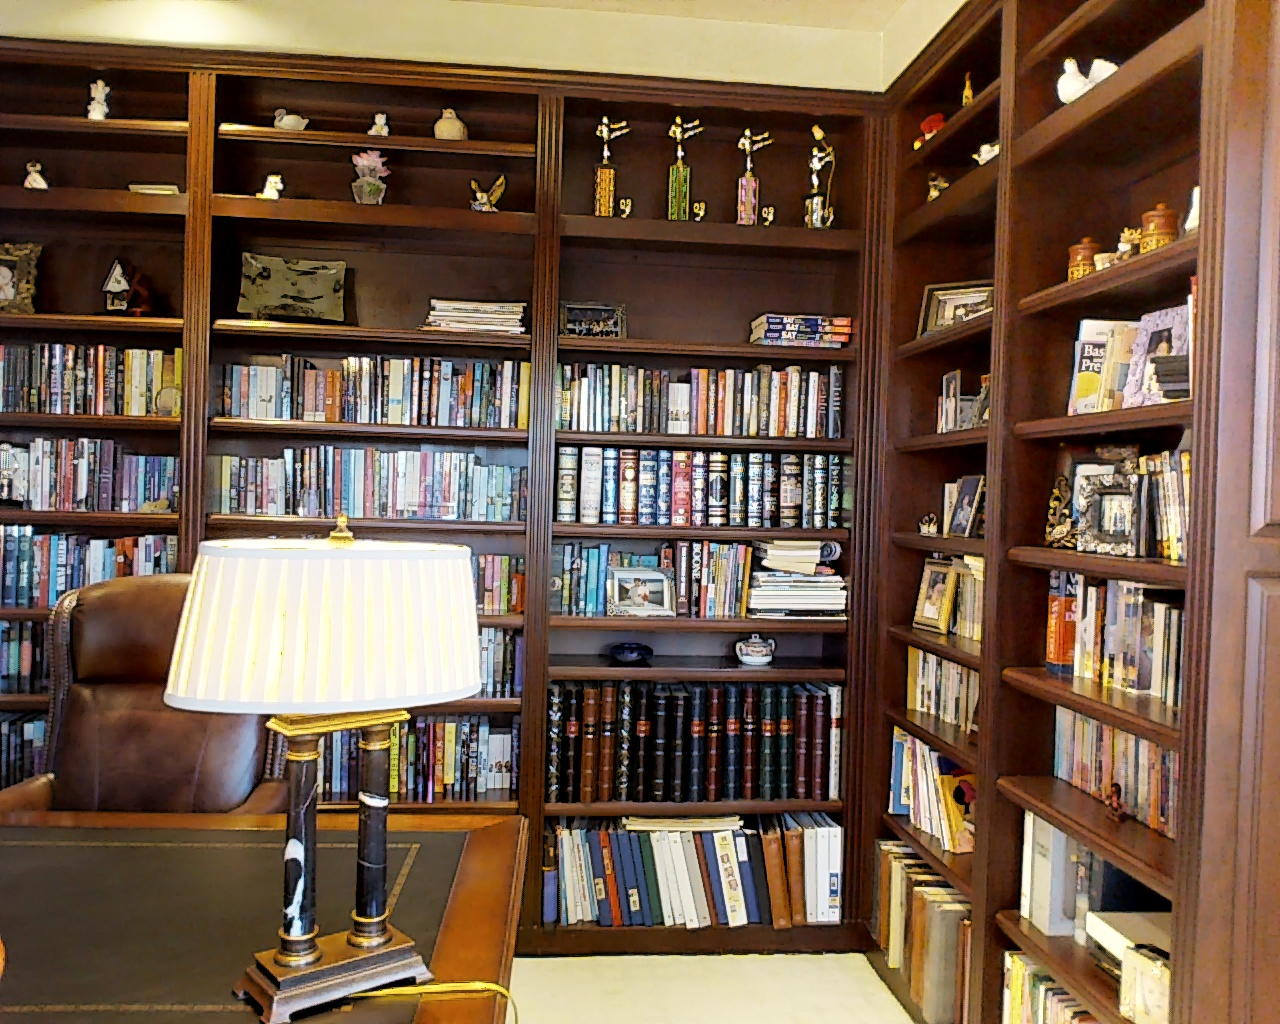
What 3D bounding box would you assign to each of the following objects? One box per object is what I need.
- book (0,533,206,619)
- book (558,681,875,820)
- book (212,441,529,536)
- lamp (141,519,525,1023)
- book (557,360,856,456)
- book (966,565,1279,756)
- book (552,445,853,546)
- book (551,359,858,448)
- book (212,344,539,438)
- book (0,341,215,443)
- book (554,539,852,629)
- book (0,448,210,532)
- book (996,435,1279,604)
[{"bbox_3d":[-1.830,0.190,3.260,0.950,0.240,0.110,1,1,-4],"label":"book"},{"bbox_3d":[0.240,0.750,3.370,0.980,0.410,0.100,1,1,-6],"label":"book"},{"bbox_3d":[-0.820,-0.070,3.350,0.930,0.260,0.240,1,1,-7],"label":"book"},{"bbox_3d":[-0.380,0.300,1.320,0.400,0.570,0.230,1,1,-29],"label":"lamp"},{"bbox_3d":[0.210,-0.330,3.480,0.940,0.260,0.210,1,1,-8],"label":"book"},{"bbox_3d":[0.960,0.270,2.210,0.240,0.260,0.850,1,1,-5],"label":"book"},{"bbox_3d":[0.200,-0.050,3.440,0.950,0.290,0.140,1,1,-8],"label":"book"},{"bbox_3d":[0.200,-0.340,3.430,0.950,0.230,0.220,1,1,-8],"label":"book"},{"bbox_3d":[-0.800,-0.370,3.360,0.940,0.230,0.350,2,1,-3],"label":"book"},{"bbox_3d":[-1.810,-0.360,3.200,0.980,0.270,0.210,1,1,-4],"label":"book"},{"bbox_3d":[0.200,0.230,3.430,0.930,0.260,0.170,1,1,-8],"label":"book"},{"bbox_3d":[-1.810,-0.070,3.210,0.930,0.230,0.260,1,1,-4],"label":"book"},{"bbox_3d":[1.050,0.010,2.200,0.320,0.290,0.660,1,1,-10],"label":"book"}]
